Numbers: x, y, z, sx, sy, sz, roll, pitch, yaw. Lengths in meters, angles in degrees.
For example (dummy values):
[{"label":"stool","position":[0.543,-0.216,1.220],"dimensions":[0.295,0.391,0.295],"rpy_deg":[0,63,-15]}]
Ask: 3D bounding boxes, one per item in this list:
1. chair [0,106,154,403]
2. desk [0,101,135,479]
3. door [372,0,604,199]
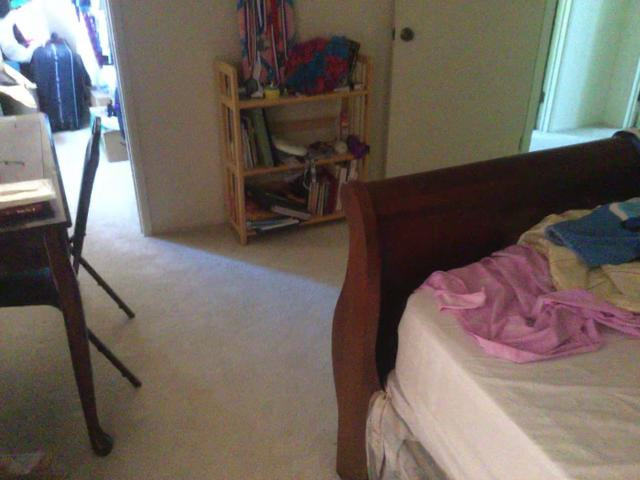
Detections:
[{"label":"chair","position":[-0.870,0.030,1.720],"dimensions":[0.550,0.690,0.450],"rpy_deg":[-14,31,-25]},{"label":"desk","position":[-1.010,0.120,1.710],"dimensions":[0.570,0.760,1.070],"rpy_deg":[-14,31,-25]},{"label":"door","position":[0.850,-0.950,3.040],"dimensions":[1.040,1.390,0.330],"rpy_deg":[-4,28,-7]}]
